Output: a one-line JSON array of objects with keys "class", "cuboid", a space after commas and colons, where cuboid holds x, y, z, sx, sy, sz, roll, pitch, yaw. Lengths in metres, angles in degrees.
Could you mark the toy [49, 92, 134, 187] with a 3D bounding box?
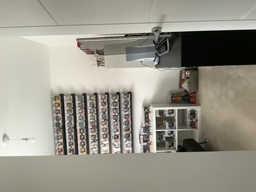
[{"class": "toy", "cuboid": [-0.630, 0.800, 3.860, 0.160, 1.430, 1.690, -91, 0, -83]}]
